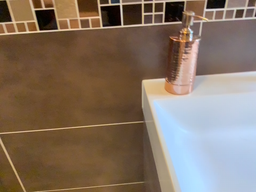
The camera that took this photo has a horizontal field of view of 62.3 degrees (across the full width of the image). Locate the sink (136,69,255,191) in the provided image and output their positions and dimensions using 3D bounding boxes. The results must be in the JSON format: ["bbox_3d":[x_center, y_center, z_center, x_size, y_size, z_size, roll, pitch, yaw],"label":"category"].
[{"bbox_3d":[0.440,0.070,0.470,0.800,0.120,0.380,-5,32,-3],"label":"sink"}]
